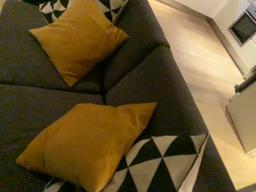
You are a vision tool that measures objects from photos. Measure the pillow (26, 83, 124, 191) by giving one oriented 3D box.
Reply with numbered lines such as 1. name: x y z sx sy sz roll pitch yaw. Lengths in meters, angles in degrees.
1. pillow: -0.180 0.180 0.870 0.140 0.410 0.480 15 11 10

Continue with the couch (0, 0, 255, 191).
1. couch: -0.270 -0.010 1.280 1.090 0.930 1.990 10 49 -29
